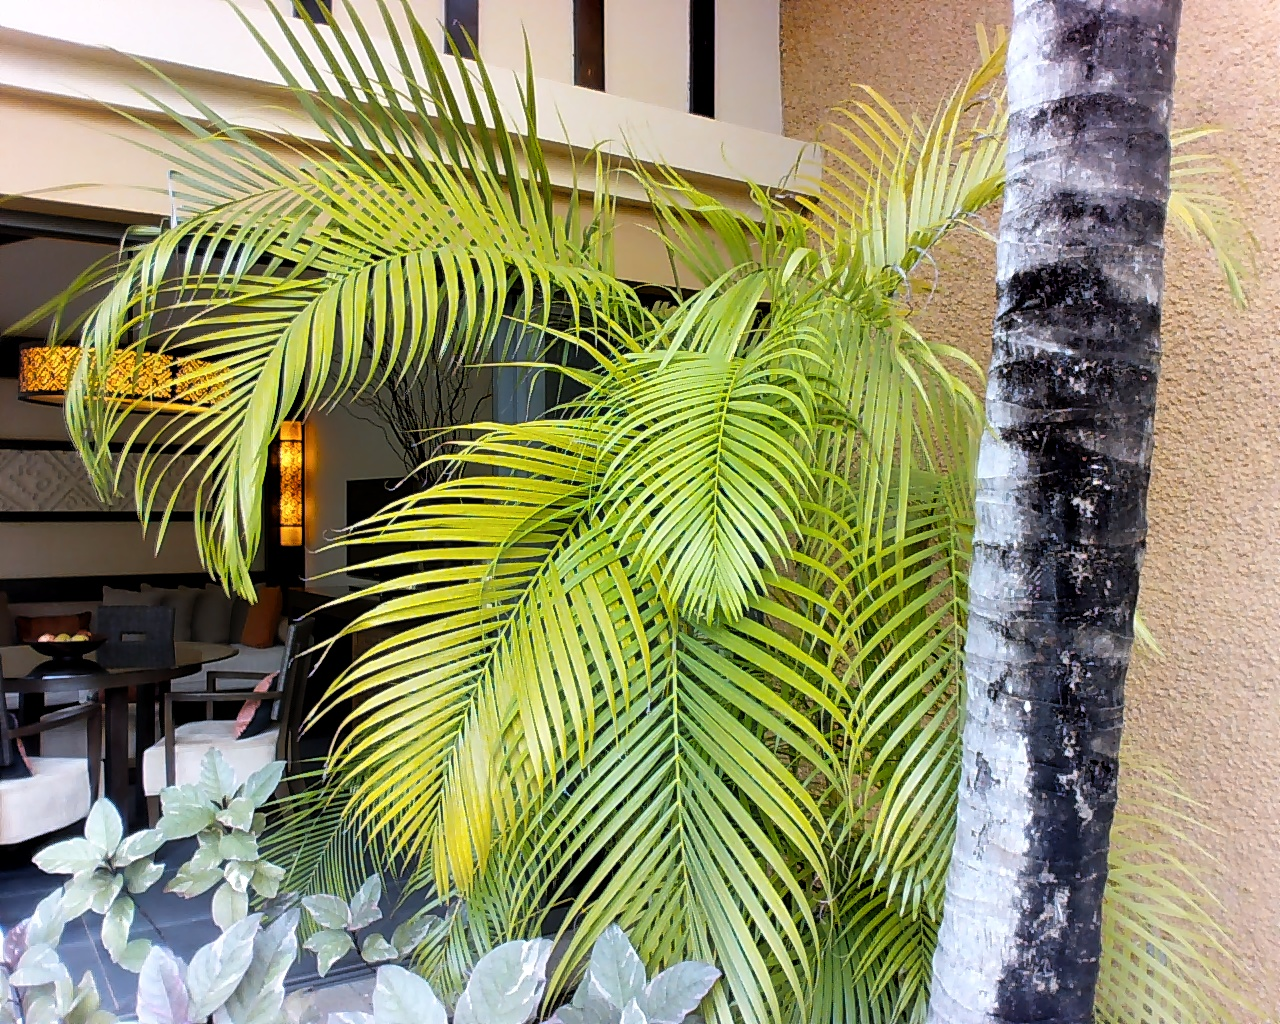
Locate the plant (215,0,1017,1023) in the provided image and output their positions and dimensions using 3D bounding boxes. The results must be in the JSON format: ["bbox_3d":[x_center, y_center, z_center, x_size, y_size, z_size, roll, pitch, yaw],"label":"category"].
[{"bbox_3d":[-0.050,-0.260,1.750,1.090,1.791,0.720,0,0,-31],"label":"plant"}]
